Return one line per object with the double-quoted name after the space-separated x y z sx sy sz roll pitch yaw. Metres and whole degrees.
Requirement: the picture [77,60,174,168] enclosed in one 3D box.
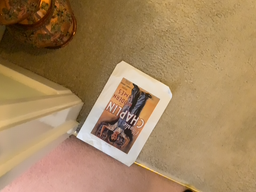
-0.010 0.060 0.690 0.200 0.010 0.290 29 93 -1 "picture"
